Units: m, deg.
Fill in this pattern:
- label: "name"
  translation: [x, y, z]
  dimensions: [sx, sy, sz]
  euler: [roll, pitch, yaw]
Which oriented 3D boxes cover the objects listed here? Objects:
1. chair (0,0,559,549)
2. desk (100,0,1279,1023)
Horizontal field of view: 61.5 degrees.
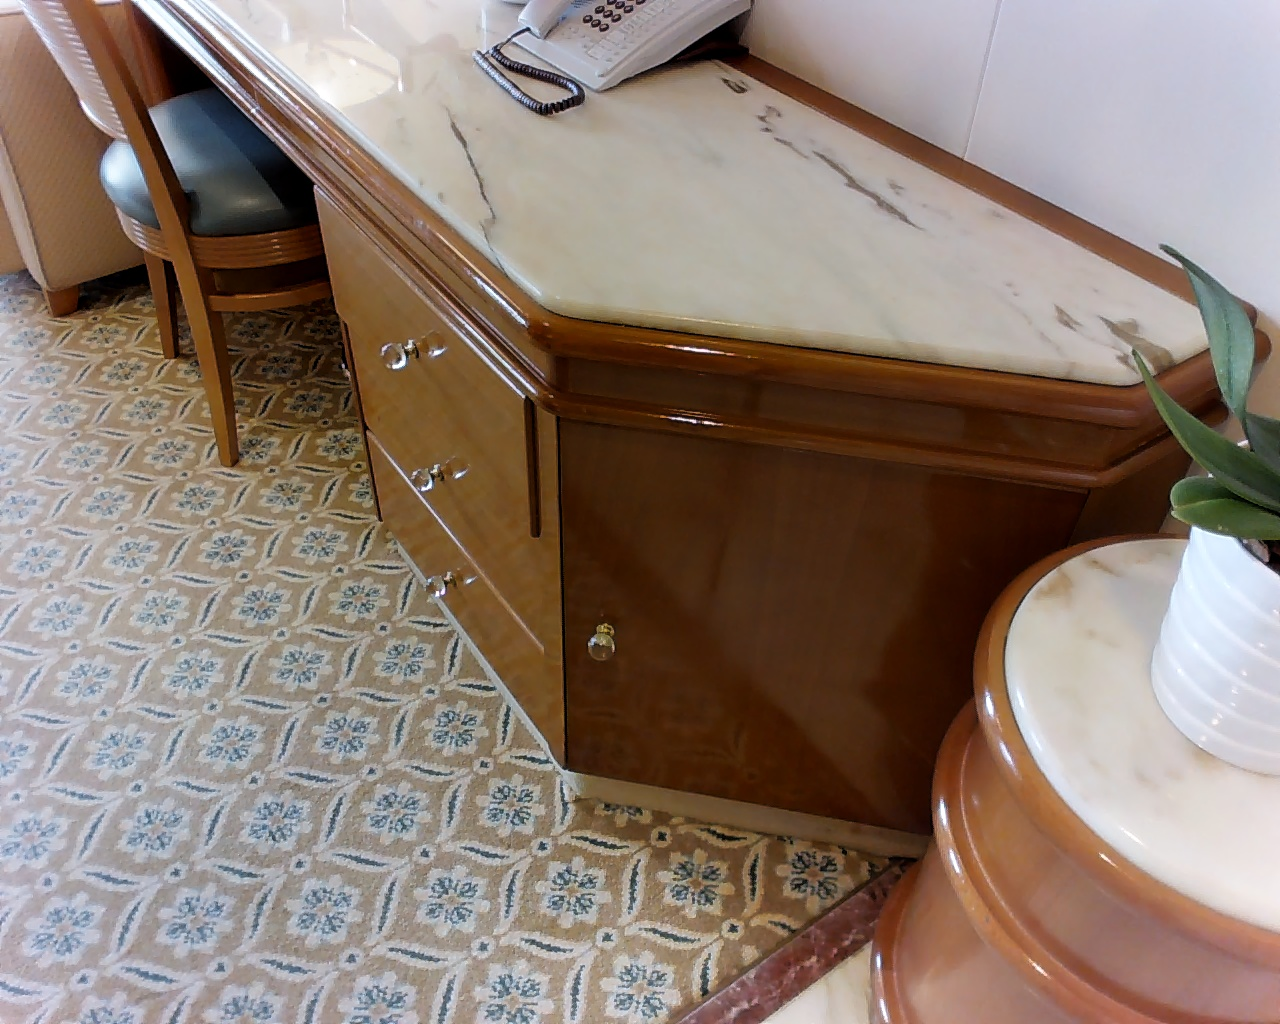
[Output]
- label: "chair"
  translation: [-0.590, -0.560, 1.740]
  dimensions: [0.660, 0.870, 0.620]
  euler: [-24, 48, -25]
- label: "desk"
  translation: [-0.200, -0.300, 1.540]
  dimensions: [0.510, 0.760, 1.880]
  euler: [-24, 48, -25]
